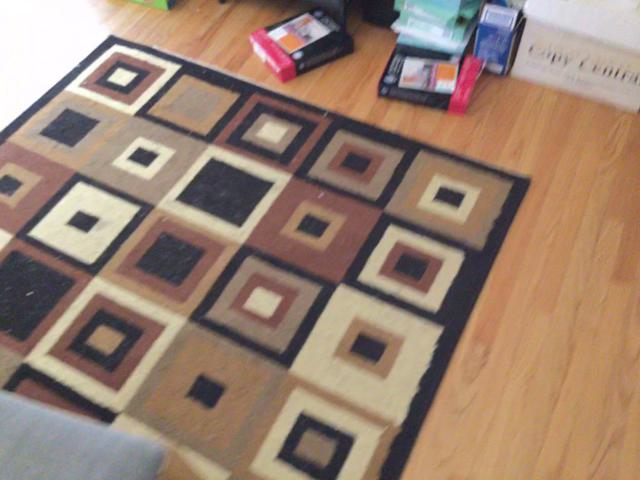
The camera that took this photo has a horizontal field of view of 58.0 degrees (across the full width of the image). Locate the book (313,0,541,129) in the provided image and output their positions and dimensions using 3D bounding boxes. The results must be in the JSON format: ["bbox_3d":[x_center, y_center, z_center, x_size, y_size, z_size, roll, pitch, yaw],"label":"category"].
[{"bbox_3d":[0.370,-0.770,1.820,0.570,0.380,0.600,23,58,15],"label":"book"}]

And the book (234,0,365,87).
[{"bbox_3d":[-0.070,-0.690,1.960,0.350,0.090,0.260,-28,60,-19],"label":"book"}]

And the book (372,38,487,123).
[{"bbox_3d":[0.350,-0.510,1.830,0.310,0.060,0.250,15,56,9],"label":"book"}]

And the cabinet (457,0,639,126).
[{"bbox_3d":[0.800,-0.670,1.770,0.600,0.290,0.400,23,58,15],"label":"cabinet"}]
